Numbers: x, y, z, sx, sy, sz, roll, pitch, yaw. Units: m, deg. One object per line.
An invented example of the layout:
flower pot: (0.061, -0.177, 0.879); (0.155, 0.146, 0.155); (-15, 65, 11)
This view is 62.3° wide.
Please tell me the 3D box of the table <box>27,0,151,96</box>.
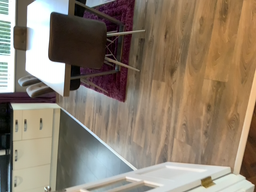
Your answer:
table: (-0.700, -0.730, 2.770); (1.990, 0.740, 1.010); (22, 109, 52)

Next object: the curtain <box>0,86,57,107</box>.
curtain: (-2.570, 0.000, 4.100); (0.230, 2.310, 0.380); (17, 104, 53)

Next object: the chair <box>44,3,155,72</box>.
chair: (-0.270, -0.500, 2.050); (0.530, 0.900, 0.450); (14, 102, 53)
